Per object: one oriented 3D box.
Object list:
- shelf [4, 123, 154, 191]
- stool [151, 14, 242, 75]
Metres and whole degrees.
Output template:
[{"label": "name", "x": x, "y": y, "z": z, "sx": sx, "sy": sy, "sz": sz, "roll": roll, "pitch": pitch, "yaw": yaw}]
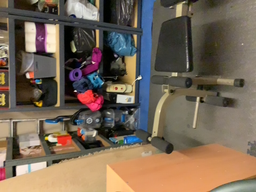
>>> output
[{"label": "shelf", "x": -0.580, "y": 0.610, "z": 2.440, "sx": 0.970, "sy": 1.450, "sz": 0.310, "roll": 8, "pitch": 98, "yaw": 60}, {"label": "stool", "x": 0.470, "y": -0.330, "z": 1.480, "sx": 0.330, "sy": 0.480, "sz": 0.330, "roll": 19, "pitch": 107, "yaw": 60}]
